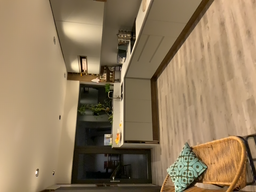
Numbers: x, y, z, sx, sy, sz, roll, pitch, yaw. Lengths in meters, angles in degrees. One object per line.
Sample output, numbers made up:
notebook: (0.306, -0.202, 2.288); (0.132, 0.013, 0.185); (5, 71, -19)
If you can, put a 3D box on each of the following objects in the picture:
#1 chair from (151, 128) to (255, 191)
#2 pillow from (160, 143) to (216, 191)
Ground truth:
chair: (0.840, 0.780, 2.160); (1.410, 0.820, 0.610); (118, 154, -68)
pillow: (0.690, 0.850, 2.500); (0.260, 0.530, 0.450); (-56, -23, -10)
